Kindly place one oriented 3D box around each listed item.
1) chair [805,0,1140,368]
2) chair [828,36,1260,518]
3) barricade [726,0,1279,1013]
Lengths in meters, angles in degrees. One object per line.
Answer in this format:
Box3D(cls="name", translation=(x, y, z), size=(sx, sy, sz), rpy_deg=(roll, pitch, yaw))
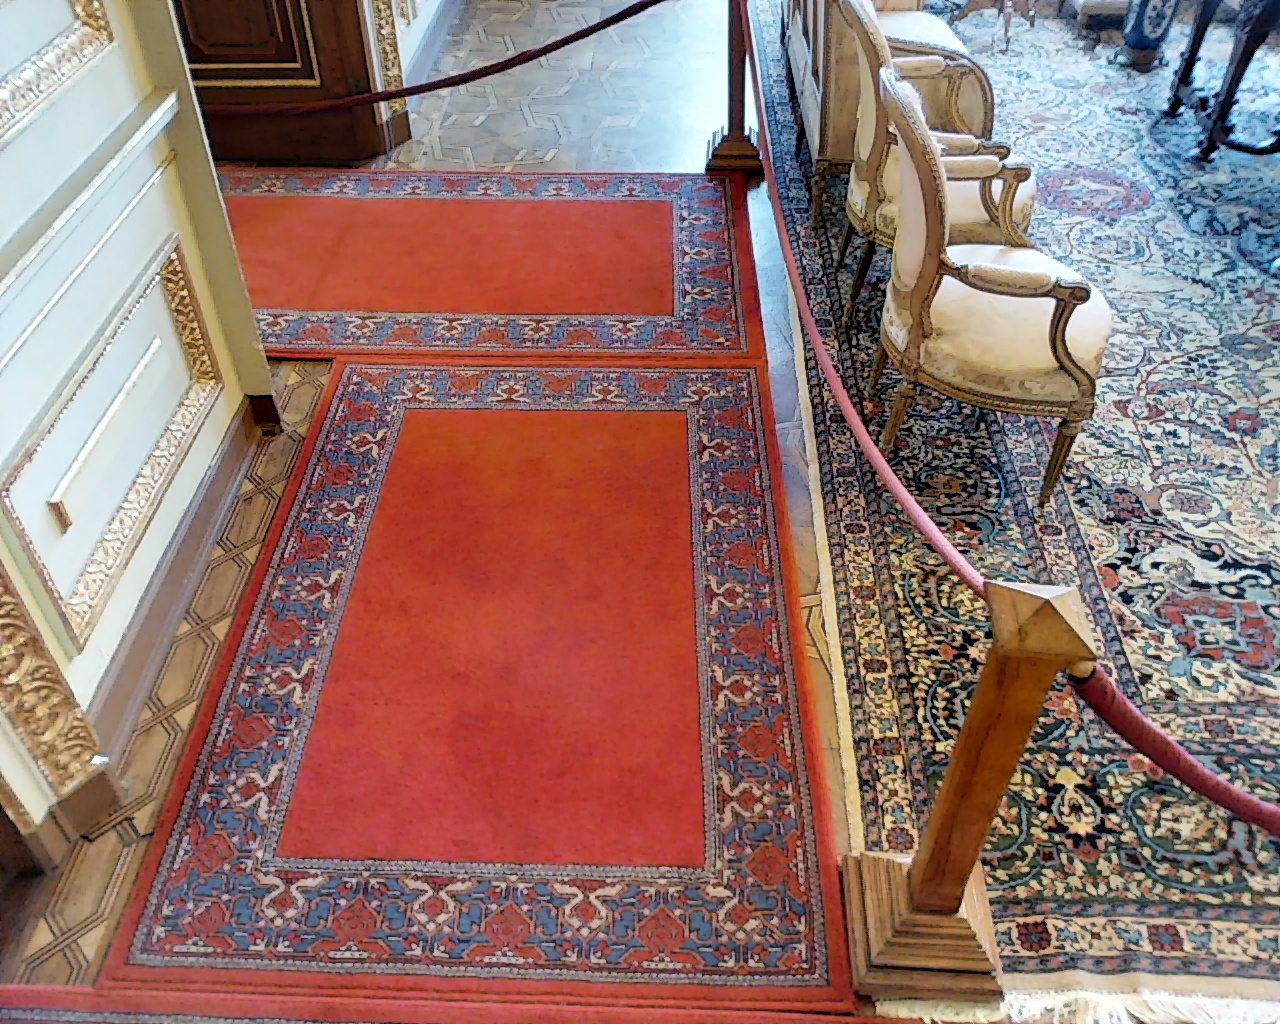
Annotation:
Box3D(cls="chair", translation=(0.840, -0.980, 3.000), size=(0.610, 0.910, 0.680), rpy_deg=(1, 42, 1))
Box3D(cls="chair", translation=(0.830, -0.530, 2.490), size=(0.620, 0.900, 0.610), rpy_deg=(1, 42, 1))
Box3D(cls="barricade", translation=(2.529, -0.520, 2.570), size=(4.539, 0.820, 3.160), rpy_deg=(2, 42, 2))
